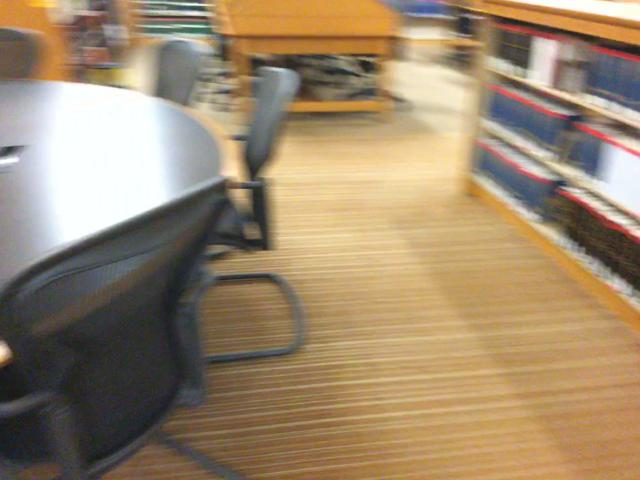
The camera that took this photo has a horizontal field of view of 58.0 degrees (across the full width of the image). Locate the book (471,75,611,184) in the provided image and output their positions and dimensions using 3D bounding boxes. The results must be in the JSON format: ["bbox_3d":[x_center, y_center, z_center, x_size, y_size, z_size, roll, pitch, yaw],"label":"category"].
[{"bbox_3d":[1.100,-0.590,2.980,0.340,0.340,0.640,-5,31,-11],"label":"book"}]

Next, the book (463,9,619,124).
[{"bbox_3d":[1.050,-0.890,2.880,0.330,0.370,0.750,-5,31,-11],"label":"book"}]

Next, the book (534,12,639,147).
[{"bbox_3d":[1.270,-0.580,2.200,0.230,0.350,1.200,-5,31,-11],"label":"book"}]

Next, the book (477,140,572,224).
[{"bbox_3d":[1.050,-0.320,3.030,0.170,0.200,0.590,-5,31,-11],"label":"book"}]

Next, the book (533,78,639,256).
[{"bbox_3d":[1.400,-0.160,2.080,0.450,0.440,1.470,-5,31,-11],"label":"book"}]

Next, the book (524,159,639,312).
[{"bbox_3d":[1.270,-0.040,2.430,0.330,0.240,0.930,-5,31,-11],"label":"book"}]
